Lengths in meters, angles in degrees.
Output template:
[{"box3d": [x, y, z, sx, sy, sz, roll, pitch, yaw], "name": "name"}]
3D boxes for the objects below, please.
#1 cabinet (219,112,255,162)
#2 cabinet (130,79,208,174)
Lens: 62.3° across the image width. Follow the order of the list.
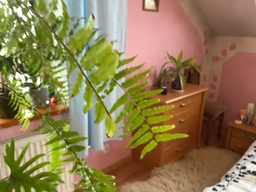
[{"box3d": [1.400, 0.480, 2.620, 0.440, 0.410, 0.310, -15, 23, -41], "name": "cabinet"}, {"box3d": [0.480, 0.290, 2.480, 0.850, 0.800, 0.430, -15, 23, -41], "name": "cabinet"}]
